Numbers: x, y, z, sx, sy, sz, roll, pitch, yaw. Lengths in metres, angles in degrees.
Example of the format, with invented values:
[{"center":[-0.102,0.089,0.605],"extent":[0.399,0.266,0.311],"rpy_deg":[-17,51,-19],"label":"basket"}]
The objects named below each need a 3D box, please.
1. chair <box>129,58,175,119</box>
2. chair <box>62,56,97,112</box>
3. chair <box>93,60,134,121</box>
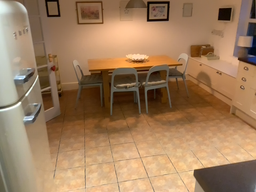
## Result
[{"center":[0.370,-0.150,3.480],"extent":[0.520,0.810,0.490],"rpy_deg":[-13,26,-28],"label":"chair"},{"center":[-0.830,-0.220,3.660],"extent":[0.480,0.810,0.520],"rpy_deg":[-6,23,-12],"label":"chair"},{"center":[-0.230,-0.110,3.390],"extent":[0.520,0.810,0.490],"rpy_deg":[-7,23,-16],"label":"chair"}]
